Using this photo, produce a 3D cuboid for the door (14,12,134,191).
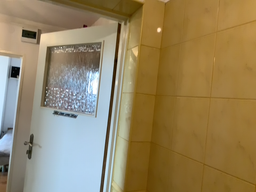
[{"bbox_3d":[-0.500,0.500,1.580,0.950,2.120,0.090,6,-1,33],"label":"door"}]
